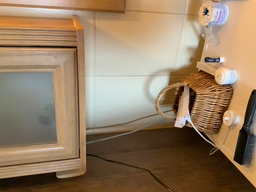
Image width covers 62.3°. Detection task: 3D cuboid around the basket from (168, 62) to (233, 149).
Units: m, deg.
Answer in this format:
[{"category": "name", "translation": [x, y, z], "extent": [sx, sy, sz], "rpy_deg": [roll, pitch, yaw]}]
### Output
[{"category": "basket", "translation": [0.260, 0.030, 0.820], "extent": [0.200, 0.090, 0.270], "rpy_deg": [-119, 31, -59]}]
